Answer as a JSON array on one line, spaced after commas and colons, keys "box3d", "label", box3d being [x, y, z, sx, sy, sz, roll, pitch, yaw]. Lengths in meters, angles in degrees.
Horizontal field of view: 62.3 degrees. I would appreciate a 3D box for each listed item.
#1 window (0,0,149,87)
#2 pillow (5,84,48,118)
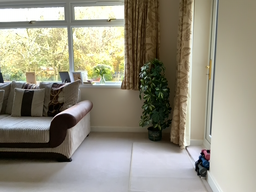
[{"box3d": [-1.590, -0.930, 3.500, 3.830, 1.510, 0.120, 1, 9, 4], "label": "window"}, {"box3d": [-1.330, 0.070, 2.820, 0.400, 0.370, 0.150, -10, 33, -6], "label": "pillow"}]
